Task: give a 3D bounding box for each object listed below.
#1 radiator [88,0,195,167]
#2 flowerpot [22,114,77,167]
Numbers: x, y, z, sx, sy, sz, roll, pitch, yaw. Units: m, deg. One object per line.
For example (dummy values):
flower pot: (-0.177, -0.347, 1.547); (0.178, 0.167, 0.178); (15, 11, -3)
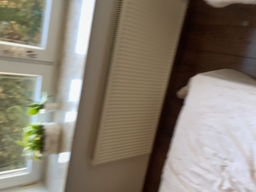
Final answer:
radiator: (0.110, -0.060, 1.590); (0.100, 0.630, 1.160); (28, 110, 47)
flowerpot: (-0.530, 0.280, 1.420); (0.240, 0.260, 0.240); (25, 108, 47)
